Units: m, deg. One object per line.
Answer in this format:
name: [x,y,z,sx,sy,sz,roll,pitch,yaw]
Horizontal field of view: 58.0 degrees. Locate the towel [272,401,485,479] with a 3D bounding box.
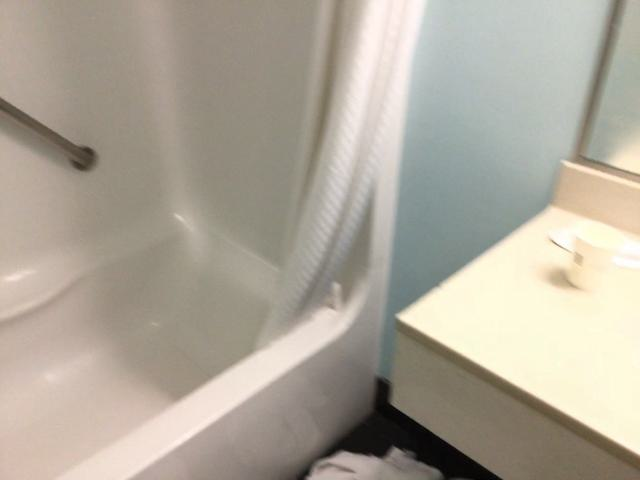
towel: [0.180,0.700,1.530,0.480,0.130,0.390,26,37,35]
